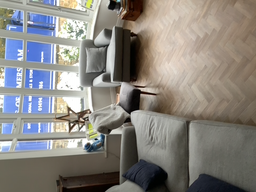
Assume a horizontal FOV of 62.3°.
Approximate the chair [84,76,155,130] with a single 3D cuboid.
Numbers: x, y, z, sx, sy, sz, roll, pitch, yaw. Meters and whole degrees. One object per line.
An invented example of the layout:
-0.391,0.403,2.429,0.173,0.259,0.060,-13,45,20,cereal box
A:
-0.140,0.100,2.990,0.500,0.810,0.610,-143,59,-64,chair
